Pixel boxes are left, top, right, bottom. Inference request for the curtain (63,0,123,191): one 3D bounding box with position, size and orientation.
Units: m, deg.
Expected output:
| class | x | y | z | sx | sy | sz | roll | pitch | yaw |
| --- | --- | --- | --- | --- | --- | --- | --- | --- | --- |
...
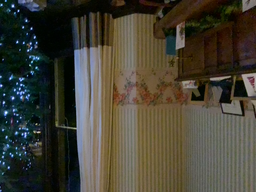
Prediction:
| class | x | y | z | sx | sy | sz | roll | pitch | yaw |
| --- | --- | --- | --- | --- | --- | --- | --- | --- | --- |
| curtain | -0.470 | 0.350 | 2.870 | 0.710 | 3.330 | 0.350 | 1 | -178 | 28 |
